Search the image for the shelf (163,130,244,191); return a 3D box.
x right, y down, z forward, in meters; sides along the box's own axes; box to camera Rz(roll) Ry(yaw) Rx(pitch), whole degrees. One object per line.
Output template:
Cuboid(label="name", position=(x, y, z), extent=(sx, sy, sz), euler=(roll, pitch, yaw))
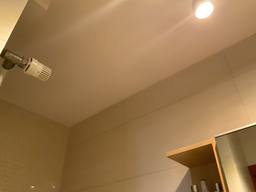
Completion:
Cuboid(label="shelf", position=(0.270, 0.460, 0.630), extent=(0.190, 0.660, 0.190), euler=(-27, -44, 32))
